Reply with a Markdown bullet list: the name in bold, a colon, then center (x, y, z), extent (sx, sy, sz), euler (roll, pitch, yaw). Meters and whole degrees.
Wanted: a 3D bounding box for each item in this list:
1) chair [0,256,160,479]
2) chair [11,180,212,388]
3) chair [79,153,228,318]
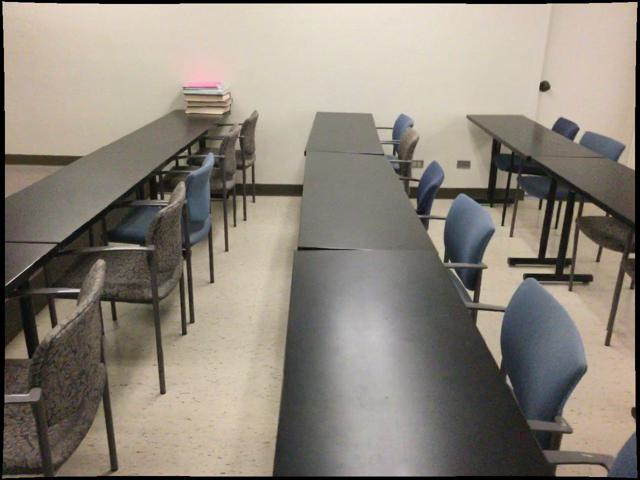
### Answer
- **chair**: center (-0.878, 0.501, 1.650), extent (0.588, 0.732, 0.580), euler (-1, 21, 2)
- **chair**: center (-0.838, 0.170, 2.500), extent (0.559, 0.712, 0.570), euler (-1, 22, 2)
- **chair**: center (-0.828, -0.040, 3.040), extent (0.529, 0.702, 0.570), euler (-1, 22, 2)
